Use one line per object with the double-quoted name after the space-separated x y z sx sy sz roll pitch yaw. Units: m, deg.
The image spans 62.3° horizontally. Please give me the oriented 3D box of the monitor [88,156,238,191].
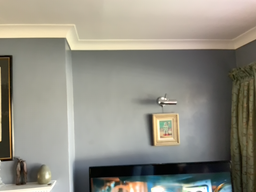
0.310 0.950 1.880 1.290 0.730 0.080 -4 -5 2 "monitor"
